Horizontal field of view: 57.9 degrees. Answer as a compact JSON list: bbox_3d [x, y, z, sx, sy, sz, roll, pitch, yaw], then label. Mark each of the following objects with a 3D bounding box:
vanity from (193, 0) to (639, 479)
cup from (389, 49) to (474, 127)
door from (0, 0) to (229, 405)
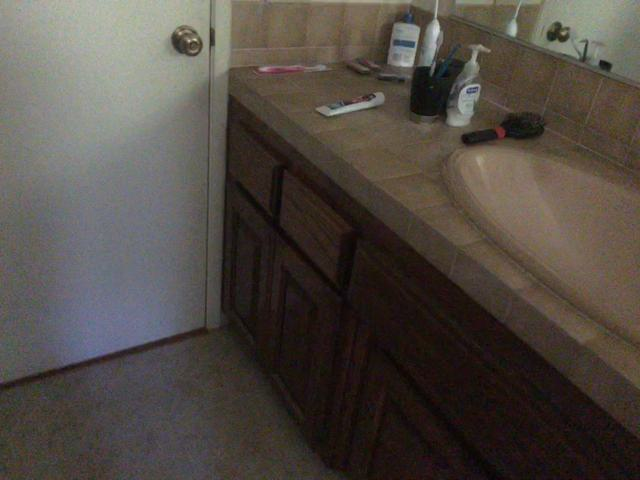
[{"bbox_3d":[0.730,0.590,0.610,0.600,1.000,3.070,-12,37,-31],"label":"vanity"},{"bbox_3d":[0.230,-0.320,1.210,0.110,0.130,0.100,-12,37,-31],"label":"cup"},{"bbox_3d":[-0.640,-0.180,1.280,0.840,1.270,0.150,-12,37,-31],"label":"door"}]
